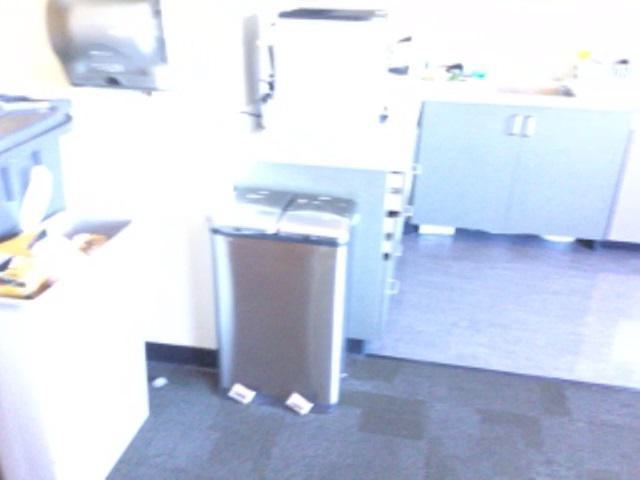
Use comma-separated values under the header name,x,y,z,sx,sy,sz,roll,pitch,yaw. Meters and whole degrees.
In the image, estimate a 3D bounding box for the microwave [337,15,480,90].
name,x,y,z,sx,sy,sz,roll,pitch,yaw
microwave,0.480,-1.040,3.150,0.620,0.300,0.430,-17,27,-27

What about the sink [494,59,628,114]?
name,x,y,z,sx,sy,sz,roll,pitch,yaw
sink,1.240,-0.820,3.060,0.590,0.180,0.560,3,25,17

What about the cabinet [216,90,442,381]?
name,x,y,z,sx,sy,sz,roll,pitch,yaw
cabinet,0.160,-0.140,2.660,0.640,0.840,1.320,3,25,17

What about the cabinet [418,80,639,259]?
name,x,y,z,sx,sy,sz,roll,pitch,yaw
cabinet,1.220,-0.420,3.190,1.260,0.770,0.680,3,25,17
